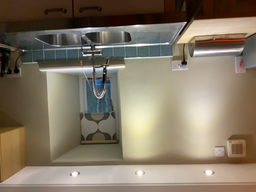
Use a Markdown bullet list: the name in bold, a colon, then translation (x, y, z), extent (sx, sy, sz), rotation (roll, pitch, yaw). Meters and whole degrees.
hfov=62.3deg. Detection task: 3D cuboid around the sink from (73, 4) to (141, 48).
- **sink**: translation (-0.140, -0.550, 1.740), extent (0.480, 0.200, 0.470), rotation (-2, -178, 3)
